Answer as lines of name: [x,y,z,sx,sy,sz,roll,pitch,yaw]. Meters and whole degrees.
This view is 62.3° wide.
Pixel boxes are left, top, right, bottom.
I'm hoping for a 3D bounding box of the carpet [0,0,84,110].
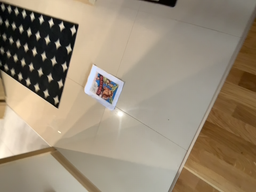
carpet: [-0.970,-0.480,1.970,1.370,0.050,0.680,28,106,30]
